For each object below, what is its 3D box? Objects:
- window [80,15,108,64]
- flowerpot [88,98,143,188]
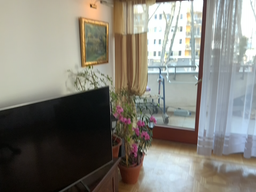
[{"bbox_3d":[-0.370,-0.640,2.440,0.050,0.480,0.600,4,14,16],"label":"window"},{"bbox_3d":[-0.130,0.530,2.510,0.540,0.920,0.330,4,15,18],"label":"flowerpot"}]
